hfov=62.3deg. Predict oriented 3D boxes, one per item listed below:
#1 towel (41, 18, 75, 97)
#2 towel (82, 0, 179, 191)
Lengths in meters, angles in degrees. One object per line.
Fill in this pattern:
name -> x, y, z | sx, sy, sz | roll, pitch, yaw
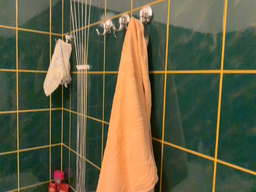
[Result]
towel -> -0.450, -0.230, 1.350 | 0.150, 0.450, 0.210 | -1, 6, -35
towel -> -0.020, 0.180, 0.790 | 0.170, 0.930, 0.320 | -2, 7, -37
